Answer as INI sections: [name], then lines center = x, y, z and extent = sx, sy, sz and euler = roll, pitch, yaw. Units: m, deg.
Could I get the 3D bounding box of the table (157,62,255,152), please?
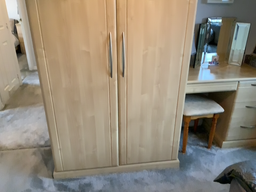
[table]
center = 0.840, 0.090, 2.150
extent = 0.950, 0.730, 0.450
euler = -3, 25, -8

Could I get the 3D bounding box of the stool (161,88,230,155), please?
[stool]
center = 0.640, 0.230, 2.140
extent = 0.450, 0.460, 0.460
euler = -5, 25, -12
